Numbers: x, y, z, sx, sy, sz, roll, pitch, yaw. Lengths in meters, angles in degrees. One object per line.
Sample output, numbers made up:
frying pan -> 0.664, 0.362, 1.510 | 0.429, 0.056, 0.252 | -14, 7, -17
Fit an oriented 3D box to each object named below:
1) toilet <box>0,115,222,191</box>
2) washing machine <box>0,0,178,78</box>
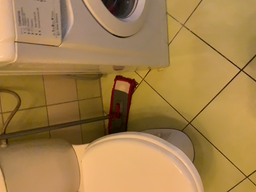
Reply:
toilet -> -0.050, 0.330, 0.850 | 0.680, 0.740, 0.380 | -3, 94, 31
washing machine -> -0.210, -0.400, 0.810 | 0.520, 0.820, 0.610 | -3, 94, 31
